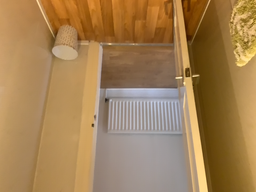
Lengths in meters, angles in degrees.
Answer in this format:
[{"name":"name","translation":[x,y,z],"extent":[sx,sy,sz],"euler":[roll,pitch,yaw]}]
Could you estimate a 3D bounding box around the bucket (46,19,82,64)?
[{"name":"bucket","translation":[-0.600,-0.510,2.010],"extent":[0.240,0.290,0.190],"euler":[-17,151,34]}]
